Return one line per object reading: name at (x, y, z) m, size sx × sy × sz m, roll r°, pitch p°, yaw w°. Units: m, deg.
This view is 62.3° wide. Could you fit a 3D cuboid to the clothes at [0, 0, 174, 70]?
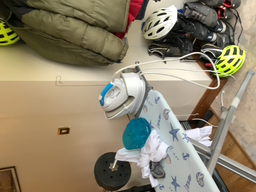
clothes at (-0.350, -0.550, 1.180) m, size 0.650 × 1.060 × 0.470 m, roll 109°, pitch 148°, yaw -41°
